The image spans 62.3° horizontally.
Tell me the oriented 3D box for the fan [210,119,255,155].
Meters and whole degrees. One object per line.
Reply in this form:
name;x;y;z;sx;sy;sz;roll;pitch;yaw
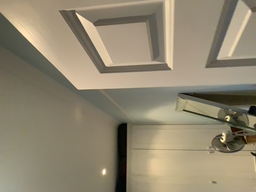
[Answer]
fan;1.760;0.570;3.040;0.440;1.010;0.350;-60;-33;-72
